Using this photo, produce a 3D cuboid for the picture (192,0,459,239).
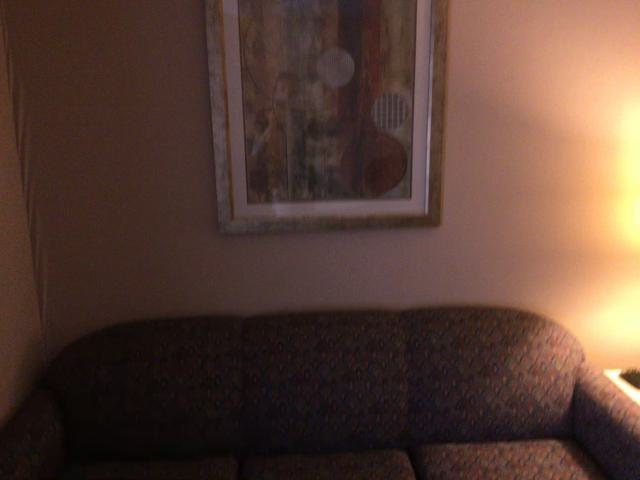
[{"bbox_3d":[0.030,-0.490,1.920,0.840,0.930,0.110,-3,10,-2],"label":"picture"}]
